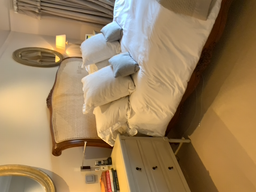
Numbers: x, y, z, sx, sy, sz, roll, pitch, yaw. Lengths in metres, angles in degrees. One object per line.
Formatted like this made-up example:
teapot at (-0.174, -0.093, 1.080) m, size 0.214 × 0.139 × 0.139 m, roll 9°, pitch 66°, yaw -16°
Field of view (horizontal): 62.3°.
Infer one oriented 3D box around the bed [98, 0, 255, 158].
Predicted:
bed at (0.270, -0.900, 2.450) m, size 2.010 × 0.670 × 2.440 m, roll -110°, pitch 28°, yaw -50°
